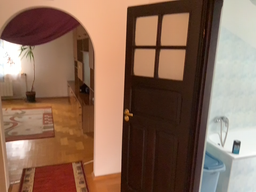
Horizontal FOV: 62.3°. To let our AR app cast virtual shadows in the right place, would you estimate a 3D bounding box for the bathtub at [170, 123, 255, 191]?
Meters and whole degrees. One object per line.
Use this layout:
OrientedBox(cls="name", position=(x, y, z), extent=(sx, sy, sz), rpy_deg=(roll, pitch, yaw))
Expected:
OrientedBox(cls="bathtub", position=(1.590, 0.860, 3.080), extent=(1.790, 0.590, 0.700), rpy_deg=(-3, 14, -23))
